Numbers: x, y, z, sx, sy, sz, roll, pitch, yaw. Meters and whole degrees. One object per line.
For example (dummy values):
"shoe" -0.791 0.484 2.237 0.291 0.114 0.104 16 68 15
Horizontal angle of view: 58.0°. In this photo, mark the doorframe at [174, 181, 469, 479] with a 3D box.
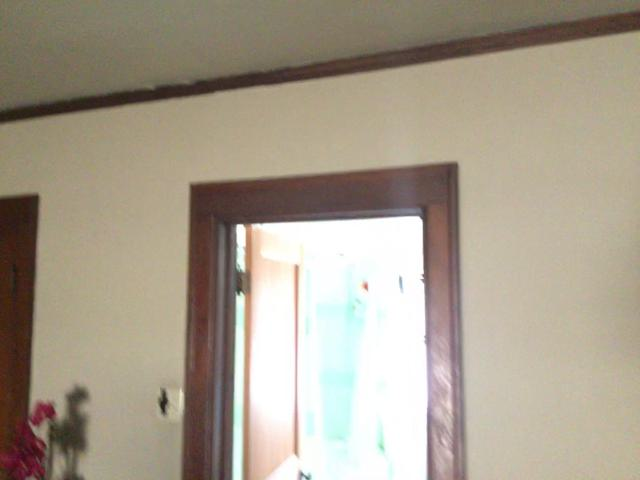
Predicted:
"doorframe" -0.040 0.870 1.890 0.940 2.100 0.170 1 -7 23

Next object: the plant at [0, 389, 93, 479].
"plant" -1.050 0.850 2.150 0.230 0.510 0.270 1 -4 22
